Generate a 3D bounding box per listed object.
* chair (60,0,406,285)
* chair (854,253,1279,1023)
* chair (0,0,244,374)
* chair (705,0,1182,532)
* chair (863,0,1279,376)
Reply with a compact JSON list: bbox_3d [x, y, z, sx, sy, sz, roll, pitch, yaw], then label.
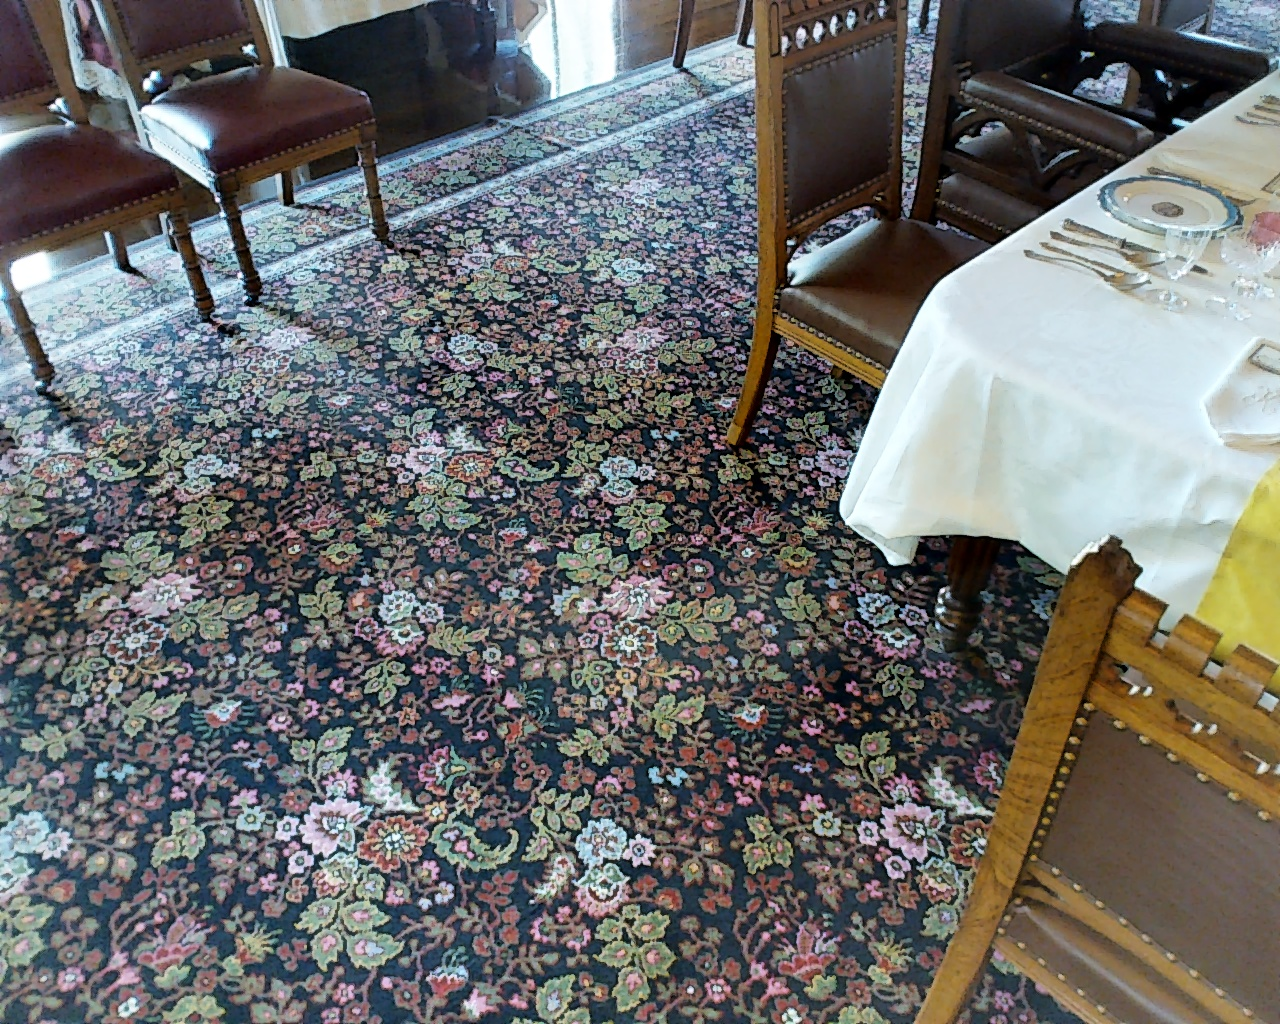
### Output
[{"bbox_3d":[-1.160,-1.290,3.030,0.650,0.970,0.580,34,52,32],"label":"chair"},{"bbox_3d":[0.750,0.320,1.200,0.590,0.980,0.690,33,52,32],"label":"chair"},{"bbox_3d":[-1.580,-1.020,2.720,0.660,0.980,0.640,34,52,32],"label":"chair"},{"bbox_3d":[0.560,-0.590,2.220,0.590,0.970,0.560,34,52,32],"label":"chair"},{"bbox_3d":[1.150,-1.220,2.510,0.720,1.440,0.790,34,52,32],"label":"chair"}]
